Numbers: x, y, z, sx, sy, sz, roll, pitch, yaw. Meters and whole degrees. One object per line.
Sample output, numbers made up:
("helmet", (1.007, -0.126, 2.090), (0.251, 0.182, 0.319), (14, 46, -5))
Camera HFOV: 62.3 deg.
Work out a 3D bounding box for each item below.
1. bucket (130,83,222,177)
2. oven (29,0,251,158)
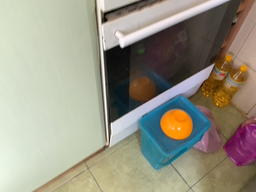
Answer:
("bucket", (0.170, 0.140, 0.840), (0.260, 0.270, 0.160), (-26, 60, -21))
("oven", (-0.020, -0.250, 0.880), (0.510, 0.670, 0.610), (-29, 61, -22))
